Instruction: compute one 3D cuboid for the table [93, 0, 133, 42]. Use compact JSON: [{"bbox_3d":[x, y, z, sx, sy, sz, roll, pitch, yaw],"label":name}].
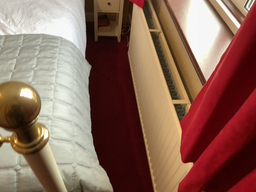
[{"bbox_3d":[-0.170,-0.900,2.180,0.360,0.530,0.400,-1,51,-8],"label":"table"}]
